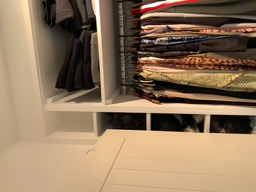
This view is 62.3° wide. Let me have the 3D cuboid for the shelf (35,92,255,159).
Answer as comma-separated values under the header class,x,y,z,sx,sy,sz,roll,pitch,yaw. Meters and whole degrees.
class,x,y,z,sx,sy,sz,roll,pitch,yaw
shelf,0.710,0.150,1.140,0.330,2.400,0.240,-55,-35,-74
